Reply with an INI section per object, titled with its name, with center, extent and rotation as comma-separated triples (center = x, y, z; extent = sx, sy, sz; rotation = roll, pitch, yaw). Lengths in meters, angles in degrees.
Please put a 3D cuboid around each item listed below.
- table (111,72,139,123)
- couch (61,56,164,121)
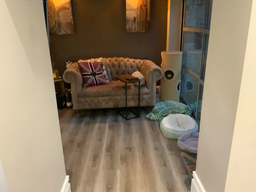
[table]
center = -0.060, 0.010, 3.500
extent = 0.250, 0.690, 0.490
rotation = -10, 21, -26
[couch]
center = -0.260, -0.180, 3.780
extent = 1.560, 0.880, 0.870
rotation = -3, 19, -6
